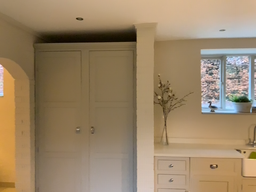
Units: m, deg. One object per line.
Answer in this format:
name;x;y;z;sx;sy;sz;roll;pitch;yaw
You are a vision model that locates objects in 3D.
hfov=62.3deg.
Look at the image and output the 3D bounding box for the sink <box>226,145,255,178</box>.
sink;1.660;0.880;2.920;0.370;0.250;0.640;0;2;5
